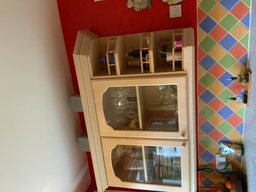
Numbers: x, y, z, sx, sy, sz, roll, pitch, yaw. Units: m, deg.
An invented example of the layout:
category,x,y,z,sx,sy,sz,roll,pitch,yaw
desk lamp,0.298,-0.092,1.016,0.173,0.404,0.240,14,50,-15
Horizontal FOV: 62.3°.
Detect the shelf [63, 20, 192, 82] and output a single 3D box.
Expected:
category,x,y,z,sx,sy,sz,roll,pitch,yaw
shelf,0.020,-0.340,1.610,0.330,0.880,0.360,-55,-39,-66
